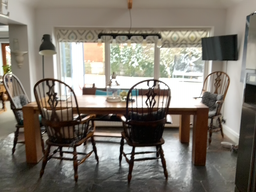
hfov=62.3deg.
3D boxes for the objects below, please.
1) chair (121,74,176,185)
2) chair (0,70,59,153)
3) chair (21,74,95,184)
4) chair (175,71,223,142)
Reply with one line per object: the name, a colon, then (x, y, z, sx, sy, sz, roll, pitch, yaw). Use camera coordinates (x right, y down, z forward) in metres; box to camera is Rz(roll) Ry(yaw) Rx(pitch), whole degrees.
chair: (0.190, 0.340, 2.500, 0.520, 1.150, 0.600, 0, 10, -5)
chair: (-1.480, 0.200, 3.210, 0.620, 1.140, 0.570, 0, 10, -1)
chair: (-0.780, 0.330, 2.550, 0.560, 1.140, 0.640, 2, 10, 9)
chair: (1.260, 0.140, 3.800, 0.550, 1.100, 0.600, 10, 14, 43)
